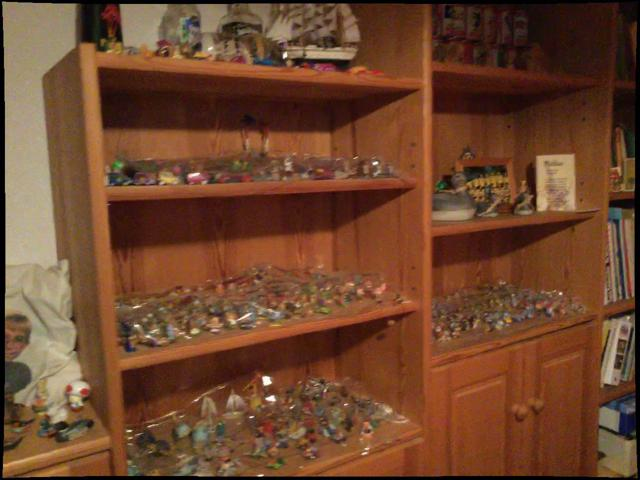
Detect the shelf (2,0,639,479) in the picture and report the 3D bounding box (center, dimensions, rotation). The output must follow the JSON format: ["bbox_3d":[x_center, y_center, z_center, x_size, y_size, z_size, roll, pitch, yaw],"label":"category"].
[{"bbox_3d":[0.350,0.120,1.690,2.029,1.902,0.490,-10,12,-31],"label":"shelf"}]
